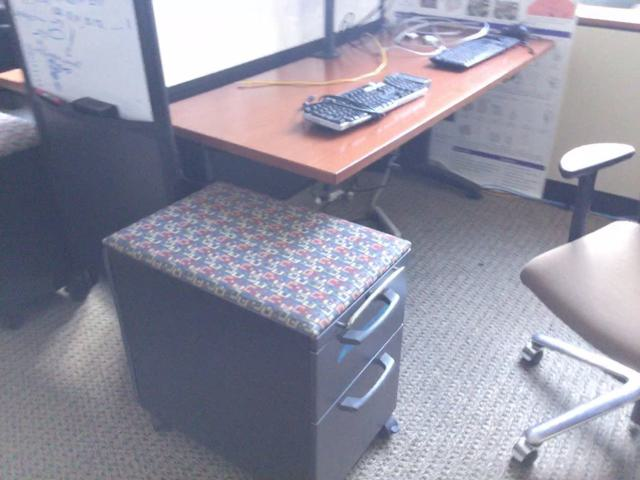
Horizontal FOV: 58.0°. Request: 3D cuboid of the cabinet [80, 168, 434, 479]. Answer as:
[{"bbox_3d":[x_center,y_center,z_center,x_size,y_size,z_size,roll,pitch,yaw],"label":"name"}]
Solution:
[{"bbox_3d":[-0.140,0.240,1.430,0.670,0.590,0.420,19,37,31],"label":"cabinet"}]
